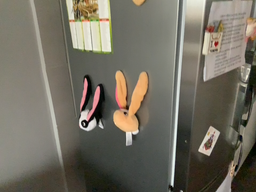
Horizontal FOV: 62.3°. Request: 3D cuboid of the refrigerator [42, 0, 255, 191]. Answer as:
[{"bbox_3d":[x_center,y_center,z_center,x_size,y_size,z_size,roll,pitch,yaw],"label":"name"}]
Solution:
[{"bbox_3d":[0.140,0.050,0.930,0.630,1.770,0.580,16,28,36],"label":"refrigerator"}]
